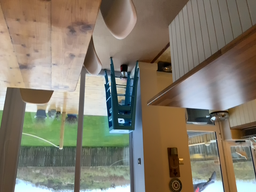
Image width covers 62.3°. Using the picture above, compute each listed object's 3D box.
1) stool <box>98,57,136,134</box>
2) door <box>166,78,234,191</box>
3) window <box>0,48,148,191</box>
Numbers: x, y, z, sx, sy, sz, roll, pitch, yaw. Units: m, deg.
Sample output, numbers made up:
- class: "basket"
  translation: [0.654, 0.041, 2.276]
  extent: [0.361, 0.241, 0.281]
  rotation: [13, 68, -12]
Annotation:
- class: "stool"
  translation: [-0.180, 0.010, 3.100]
  extent: [0.430, 1.010, 0.410]
  rotation: [4, 161, -18]
- class: "door"
  translation: [1.220, 0.770, 3.650]
  extent: [0.910, 2.170, 0.240]
  rotation: [4, 162, -16]
- class: "window"
  translation: [-1.410, 0.530, 2.760]
  extent: [3.450, 2.360, 0.250]
  rotation: [4, 161, -18]
